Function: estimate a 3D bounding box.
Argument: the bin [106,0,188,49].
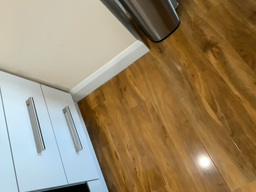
[{"bbox_3d":[0.050,-0.610,1.180,0.300,0.640,0.350,-32,65,17],"label":"bin"}]
